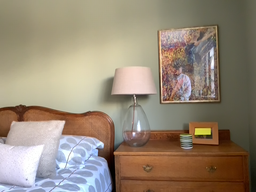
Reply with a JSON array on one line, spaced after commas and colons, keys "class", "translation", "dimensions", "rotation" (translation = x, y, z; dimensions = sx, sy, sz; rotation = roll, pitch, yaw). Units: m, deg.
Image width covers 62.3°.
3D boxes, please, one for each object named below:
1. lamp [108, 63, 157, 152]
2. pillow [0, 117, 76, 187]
[{"class": "lamp", "translation": [0.050, 0.090, 1.750], "dimensions": [0.340, 0.660, 0.310], "rotation": [-2, 0, 10]}, {"class": "pillow", "translation": [-0.810, 0.370, 1.630], "dimensions": [0.530, 0.330, 0.720], "rotation": [-2, 0, 10]}]
